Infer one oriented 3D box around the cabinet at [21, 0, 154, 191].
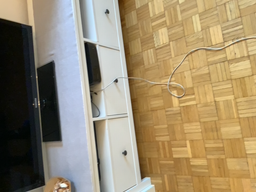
[{"bbox_3d":[-0.290,-0.060,1.510,0.520,0.570,1.500,-12,83,36],"label":"cabinet"}]
